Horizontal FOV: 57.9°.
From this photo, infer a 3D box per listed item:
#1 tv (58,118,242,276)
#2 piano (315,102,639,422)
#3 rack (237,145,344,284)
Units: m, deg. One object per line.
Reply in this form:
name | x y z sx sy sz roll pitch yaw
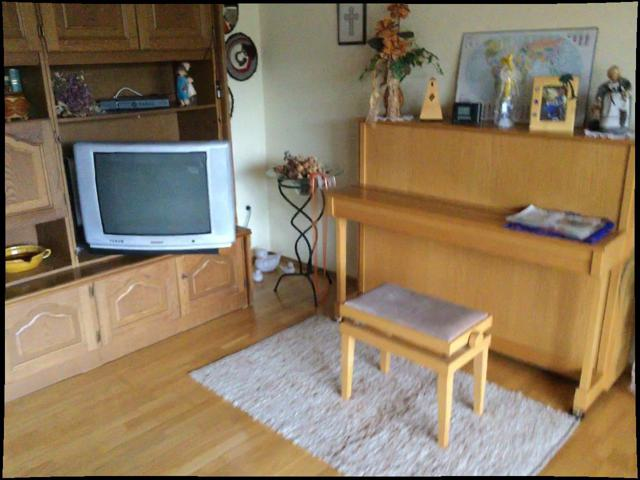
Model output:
tv | -0.819 -0.260 3.040 0.769 0.651 0.710 -1 20 -6
piano | 0.769 -0.030 2.900 1.539 1.111 0.630 18 26 38
rack | -0.190 -0.190 3.780 0.400 0.731 0.560 18 26 38
